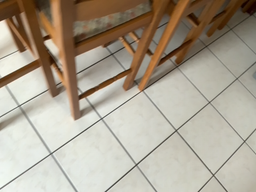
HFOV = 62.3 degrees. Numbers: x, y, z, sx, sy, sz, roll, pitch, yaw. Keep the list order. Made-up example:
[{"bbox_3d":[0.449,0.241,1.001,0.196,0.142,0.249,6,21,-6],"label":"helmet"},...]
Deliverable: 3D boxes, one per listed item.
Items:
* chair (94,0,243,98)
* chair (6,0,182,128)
[{"bbox_3d":[0.180,-0.460,0.970,0.400,0.970,0.480,-34,78,-23],"label":"chair"},{"bbox_3d":[-0.160,-0.280,0.820,0.400,0.980,0.430,-34,78,-23],"label":"chair"}]
